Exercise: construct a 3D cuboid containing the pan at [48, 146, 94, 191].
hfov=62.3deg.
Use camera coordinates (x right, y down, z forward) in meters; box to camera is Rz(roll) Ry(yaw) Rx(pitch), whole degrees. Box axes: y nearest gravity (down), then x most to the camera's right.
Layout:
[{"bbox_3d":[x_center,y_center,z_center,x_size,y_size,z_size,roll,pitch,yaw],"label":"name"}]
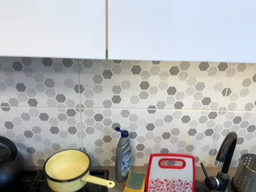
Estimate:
[{"bbox_3d":[-0.220,0.300,0.860,0.140,0.090,0.200,1,23,-4],"label":"pan"}]
